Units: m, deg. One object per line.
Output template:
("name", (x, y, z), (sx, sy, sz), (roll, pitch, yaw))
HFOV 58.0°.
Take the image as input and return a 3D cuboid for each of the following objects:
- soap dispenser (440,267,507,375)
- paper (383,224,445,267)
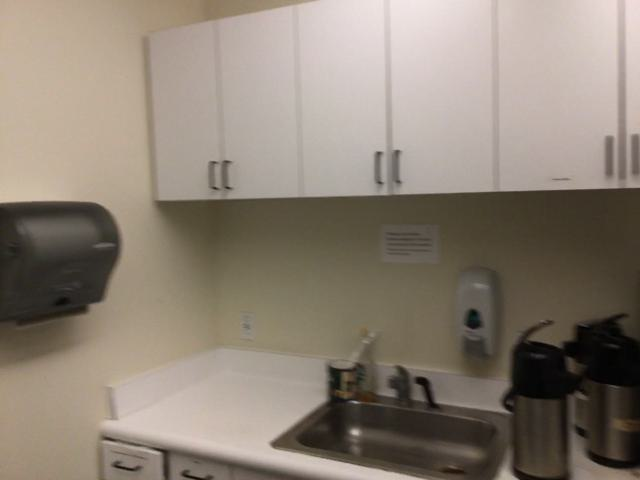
("soap dispenser", (0.490, 0.250, 1.840), (0.180, 0.320, 0.100), (-1, 2, 28))
("paper", (0.320, 0.020, 1.970), (0.200, 0.140, 0.040), (-1, 2, 28))
